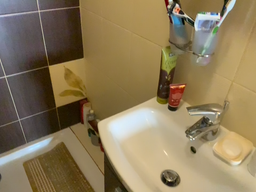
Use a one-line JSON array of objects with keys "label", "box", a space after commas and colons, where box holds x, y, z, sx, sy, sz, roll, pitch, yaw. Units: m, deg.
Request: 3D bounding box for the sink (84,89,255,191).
[{"label": "sink", "box": [0.150, 0.210, 0.670, 0.370, 0.130, 0.520, -20, 42, -30]}]
